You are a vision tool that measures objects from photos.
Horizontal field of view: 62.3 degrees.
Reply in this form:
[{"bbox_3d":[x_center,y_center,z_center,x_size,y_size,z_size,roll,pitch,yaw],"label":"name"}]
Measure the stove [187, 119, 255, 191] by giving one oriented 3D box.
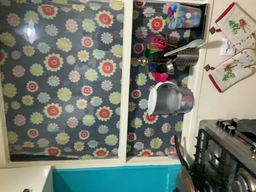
[{"bbox_3d":[0.530,0.510,1.130,0.590,0.150,0.600,-116,28,-73],"label":"stove"}]
